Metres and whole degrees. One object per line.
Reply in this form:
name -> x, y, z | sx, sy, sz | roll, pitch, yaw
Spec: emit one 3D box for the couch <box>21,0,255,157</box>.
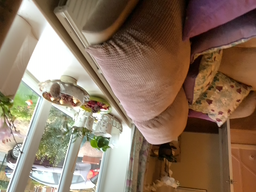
couch -> 0.430, -0.320, 1.430 | 0.970, 1.060, 1.670 | 0, 155, 17
